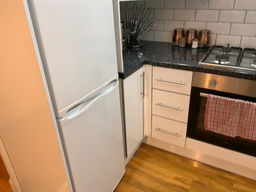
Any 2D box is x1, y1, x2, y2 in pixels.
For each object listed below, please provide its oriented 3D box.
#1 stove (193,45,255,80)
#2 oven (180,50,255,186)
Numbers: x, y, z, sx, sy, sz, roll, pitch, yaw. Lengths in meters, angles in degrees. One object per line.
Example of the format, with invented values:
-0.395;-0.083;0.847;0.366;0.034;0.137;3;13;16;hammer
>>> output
0.870;-0.260;1.600;0.610;0.050;0.560;14;32;27;stove
0.870;0.140;1.800;0.610;0.860;0.580;14;32;27;oven
